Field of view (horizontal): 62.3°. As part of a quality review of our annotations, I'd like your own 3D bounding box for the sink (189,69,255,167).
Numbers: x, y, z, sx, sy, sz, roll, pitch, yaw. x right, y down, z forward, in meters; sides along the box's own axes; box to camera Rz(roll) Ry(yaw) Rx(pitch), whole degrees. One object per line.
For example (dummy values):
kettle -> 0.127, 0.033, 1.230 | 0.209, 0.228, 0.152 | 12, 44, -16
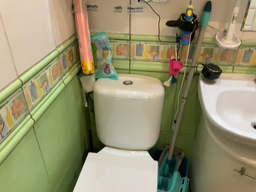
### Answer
sink -> 0.600, 0.080, 0.900 | 0.590, 0.170, 0.440 | 5, 33, 6
